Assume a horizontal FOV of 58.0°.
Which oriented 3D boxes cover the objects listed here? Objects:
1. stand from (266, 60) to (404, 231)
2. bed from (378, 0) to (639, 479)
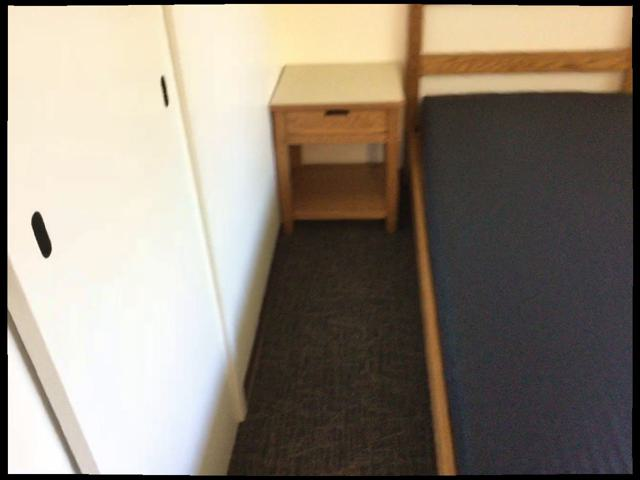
[{"bbox_3d":[0.080,-0.421,2.550,0.519,0.591,0.490,0,34,4],"label":"stand"},{"bbox_3d":[0.769,-0.090,1.720,1.118,0.961,2.171,0,34,4],"label":"bed"}]
